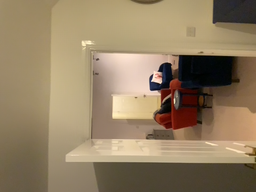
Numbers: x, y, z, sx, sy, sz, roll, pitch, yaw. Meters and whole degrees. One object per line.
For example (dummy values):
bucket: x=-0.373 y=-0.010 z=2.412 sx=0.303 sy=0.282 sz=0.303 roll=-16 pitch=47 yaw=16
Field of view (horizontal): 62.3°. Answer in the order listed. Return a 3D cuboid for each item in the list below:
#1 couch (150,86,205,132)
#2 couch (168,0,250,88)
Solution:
couch: x=1.050 y=0.270 z=4.820 sx=1.210 sy=0.910 sz=0.890 roll=168 pitch=103 yaw=-87
couch: x=1.170 y=-0.720 z=3.300 sx=0.890 sy=0.870 sz=1.180 roll=-140 pitch=52 yaw=-86
